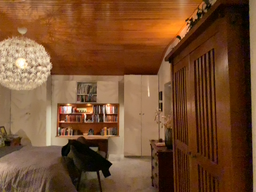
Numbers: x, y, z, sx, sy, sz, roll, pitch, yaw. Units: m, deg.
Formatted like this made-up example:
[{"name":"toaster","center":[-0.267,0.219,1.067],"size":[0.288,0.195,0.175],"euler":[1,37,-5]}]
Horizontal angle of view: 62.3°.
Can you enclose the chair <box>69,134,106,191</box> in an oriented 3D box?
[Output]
[{"name":"chair","center":[-0.720,1.230,4.090],"size":[0.580,0.780,1.380],"euler":[0,-1,-5]}]
